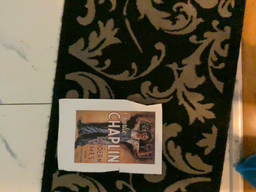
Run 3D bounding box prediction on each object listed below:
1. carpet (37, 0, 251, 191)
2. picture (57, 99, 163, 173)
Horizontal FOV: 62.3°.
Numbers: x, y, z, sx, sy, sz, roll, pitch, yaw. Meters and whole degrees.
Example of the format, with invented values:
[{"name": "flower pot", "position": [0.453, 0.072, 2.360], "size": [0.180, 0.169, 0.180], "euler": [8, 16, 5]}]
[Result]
[{"name": "carpet", "position": [0.040, 0.010, 0.620], "size": [0.510, 0.050, 0.750], "euler": [9, 91, 1]}, {"name": "picture", "position": [-0.050, 0.110, 0.600], "size": [0.290, 0.030, 0.200], "euler": [1, 91, 1]}]
